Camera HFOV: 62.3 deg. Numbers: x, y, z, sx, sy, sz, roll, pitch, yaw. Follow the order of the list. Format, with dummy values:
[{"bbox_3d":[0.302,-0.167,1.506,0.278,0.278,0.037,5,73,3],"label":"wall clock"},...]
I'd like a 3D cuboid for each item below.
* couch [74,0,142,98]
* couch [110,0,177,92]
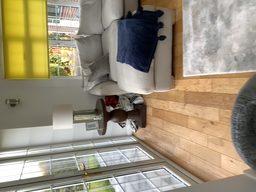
[{"bbox_3d":[-0.380,-1.610,3.430,1.090,0.820,3.190,-169,78,-68],"label":"couch"},{"bbox_3d":[0.140,-0.540,2.630,0.910,0.470,0.930,-169,78,-68],"label":"couch"}]
